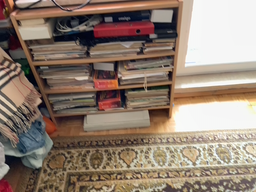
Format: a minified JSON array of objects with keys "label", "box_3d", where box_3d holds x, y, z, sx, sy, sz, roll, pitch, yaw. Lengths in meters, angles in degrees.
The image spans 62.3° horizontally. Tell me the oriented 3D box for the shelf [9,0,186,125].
[{"label":"shelf","box_3d":[-0.140,-0.200,1.420,0.890,0.850,0.220,-3,40,1]}]
